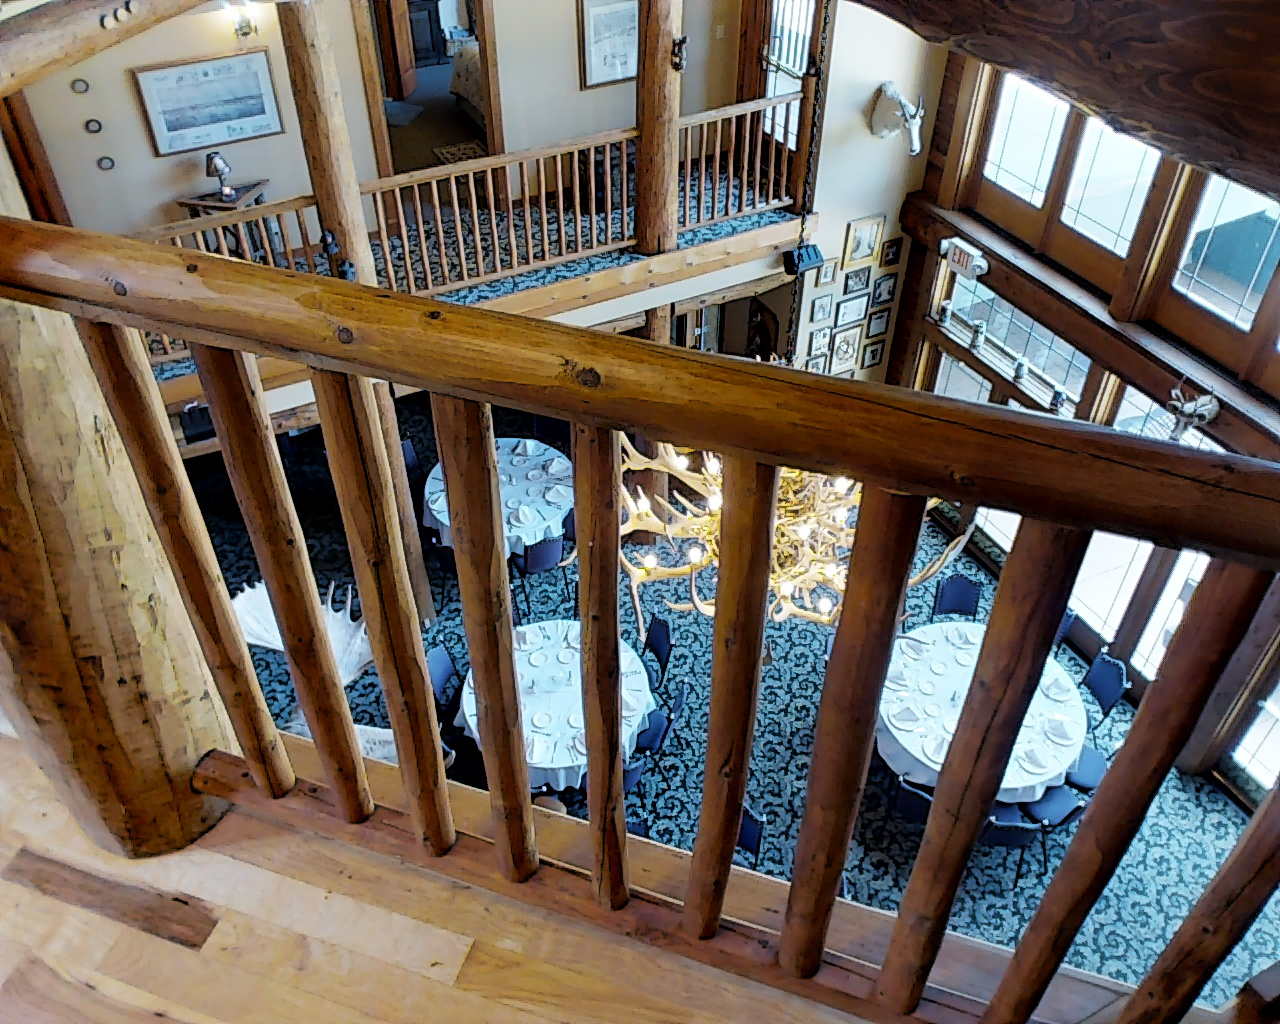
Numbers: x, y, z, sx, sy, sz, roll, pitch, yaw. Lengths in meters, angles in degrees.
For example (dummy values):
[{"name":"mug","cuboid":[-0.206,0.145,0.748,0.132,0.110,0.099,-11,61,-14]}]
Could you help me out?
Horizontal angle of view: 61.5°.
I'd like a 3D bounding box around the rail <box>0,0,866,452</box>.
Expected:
[{"name":"rail","cuboid":[-1.700,-2.540,7.620,7.560,2.760,0.520,-19,46,-21]}]
